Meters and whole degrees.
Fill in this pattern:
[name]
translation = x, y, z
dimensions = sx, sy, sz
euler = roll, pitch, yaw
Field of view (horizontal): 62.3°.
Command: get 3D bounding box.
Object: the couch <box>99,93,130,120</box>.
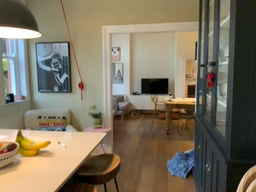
[couch]
translation = -0.410, 0.310, 6.890
dimensions = 0.840, 0.710, 0.910
euler = 1, 7, 8
